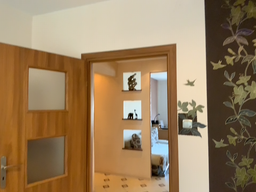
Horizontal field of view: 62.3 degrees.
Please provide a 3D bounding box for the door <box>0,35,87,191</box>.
[{"bbox_3d":[-0.740,0.580,1.820,0.180,1.980,0.870,-1,-3,34],"label":"door"}]
